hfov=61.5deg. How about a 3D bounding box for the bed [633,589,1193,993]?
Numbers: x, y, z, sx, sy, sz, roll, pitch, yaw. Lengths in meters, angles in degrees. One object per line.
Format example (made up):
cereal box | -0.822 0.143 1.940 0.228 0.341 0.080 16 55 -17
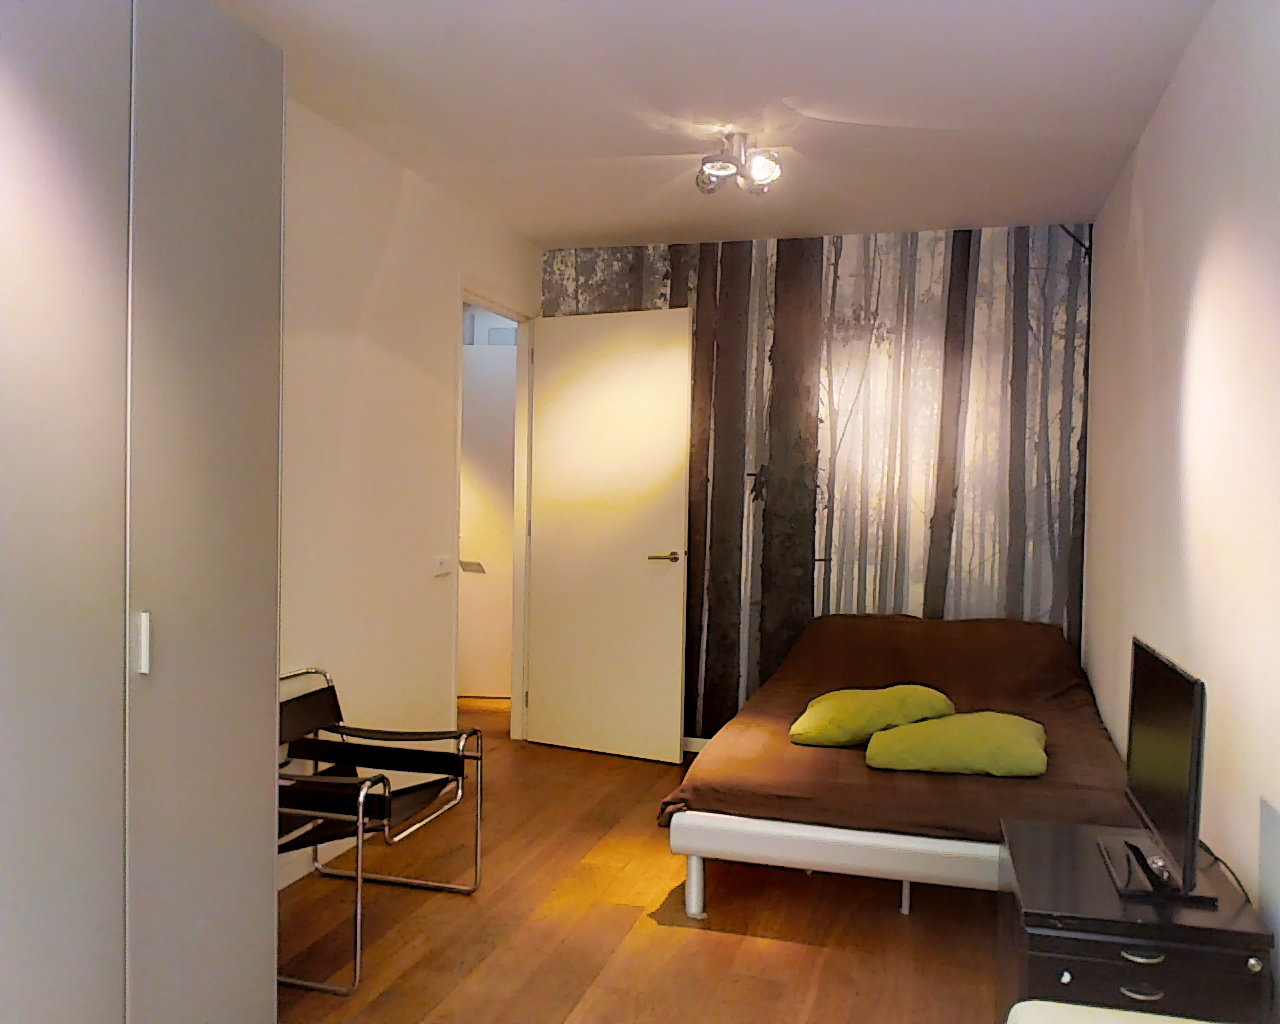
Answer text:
bed | 1.070 0.870 4.310 1.600 0.860 2.290 2 1 16
